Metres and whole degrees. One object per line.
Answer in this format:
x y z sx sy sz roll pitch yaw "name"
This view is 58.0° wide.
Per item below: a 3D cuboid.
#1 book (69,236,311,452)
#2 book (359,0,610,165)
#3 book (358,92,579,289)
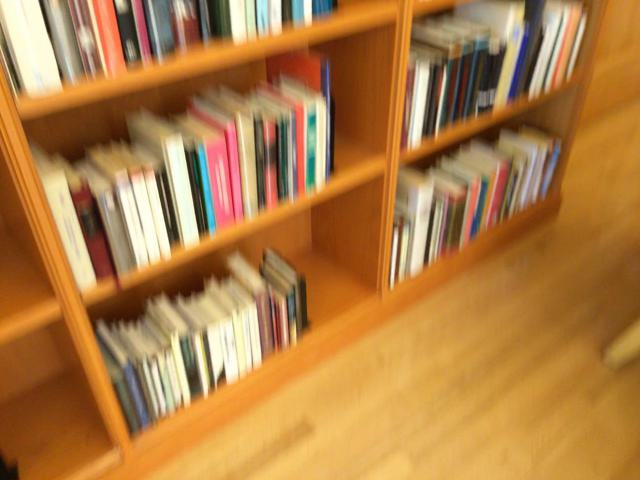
-0.290 0.230 1.410 0.510 0.250 0.200 -26 41 -30 "book"
0.480 -0.540 1.610 0.810 0.380 0.200 -26 41 -30 "book"
0.490 -0.190 1.880 0.790 0.340 0.210 -26 41 -30 "book"
